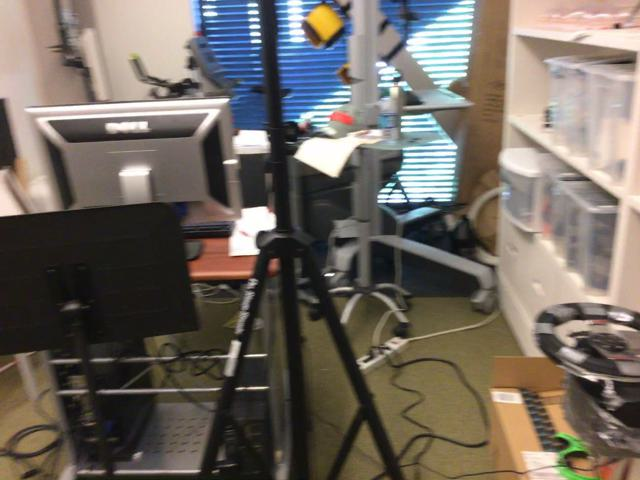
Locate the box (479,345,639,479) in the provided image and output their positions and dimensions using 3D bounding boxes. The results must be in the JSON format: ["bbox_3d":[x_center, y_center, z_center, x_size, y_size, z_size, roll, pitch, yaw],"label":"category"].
[{"bbox_3d":[0.650,0.580,1.640,0.270,0.350,0.520,-1,18,4],"label":"box"}]

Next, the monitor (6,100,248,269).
[{"bbox_3d":[-0.480,-0.150,1.530,0.540,0.400,0.160,-3,18,-2],"label":"monitor"}]

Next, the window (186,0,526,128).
[{"bbox_3d":[0.210,-1.490,3.620,2.060,1.490,0.230,-1,18,4],"label":"window"}]

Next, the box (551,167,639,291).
[{"bbox_3d":[0.920,-0.040,1.720,0.350,0.310,0.240,-1,18,4],"label":"box"}]

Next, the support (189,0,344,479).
[{"bbox_3d":[-0.100,-0.140,1.310,0.270,2.010,0.190,-1,18,4],"label":"support"}]
